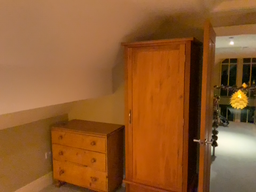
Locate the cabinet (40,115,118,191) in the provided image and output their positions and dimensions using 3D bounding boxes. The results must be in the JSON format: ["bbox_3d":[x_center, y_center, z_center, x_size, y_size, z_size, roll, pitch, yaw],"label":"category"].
[{"bbox_3d":[-0.640,0.760,2.840,0.890,0.860,0.480,3,8,26],"label":"cabinet"}]

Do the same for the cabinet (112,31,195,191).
[{"bbox_3d":[0.300,0.300,2.430,0.740,1.880,0.610,3,8,26],"label":"cabinet"}]
